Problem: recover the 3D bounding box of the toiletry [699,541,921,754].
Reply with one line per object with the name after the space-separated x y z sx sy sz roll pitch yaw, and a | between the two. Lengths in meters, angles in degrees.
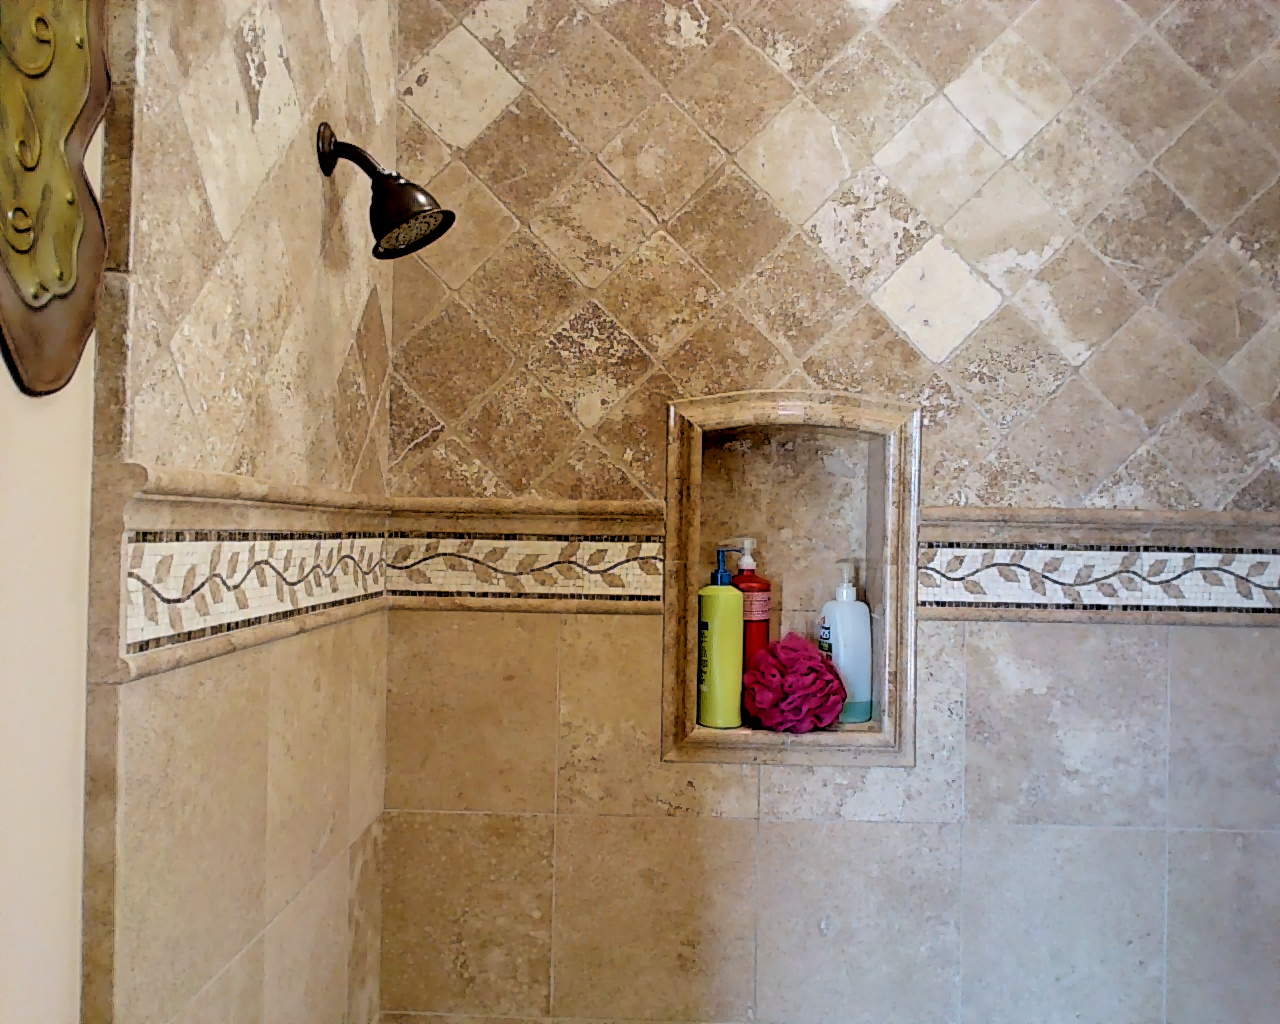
0.250 0.200 1.600 0.320 0.310 0.070 -1 -2 3 | toiletry
